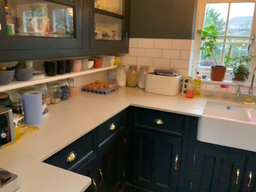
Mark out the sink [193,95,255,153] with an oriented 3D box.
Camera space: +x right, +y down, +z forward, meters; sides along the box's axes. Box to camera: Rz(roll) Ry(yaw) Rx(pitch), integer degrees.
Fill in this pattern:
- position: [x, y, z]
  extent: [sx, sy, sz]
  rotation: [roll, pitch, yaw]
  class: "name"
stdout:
- position: [0.870, 0.210, 1.920]
  extent: [0.430, 0.260, 0.610]
  rotation: [9, 16, 22]
  class: "sink"
